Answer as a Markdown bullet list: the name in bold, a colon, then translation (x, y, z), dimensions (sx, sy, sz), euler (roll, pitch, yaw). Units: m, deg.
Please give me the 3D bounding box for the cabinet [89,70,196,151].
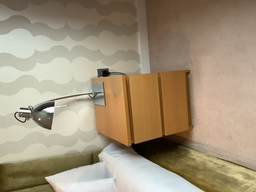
- **cabinet**: translation (0.090, 0.050, 1.530), dimensions (0.520, 0.550, 0.420), euler (8, 104, 59)
